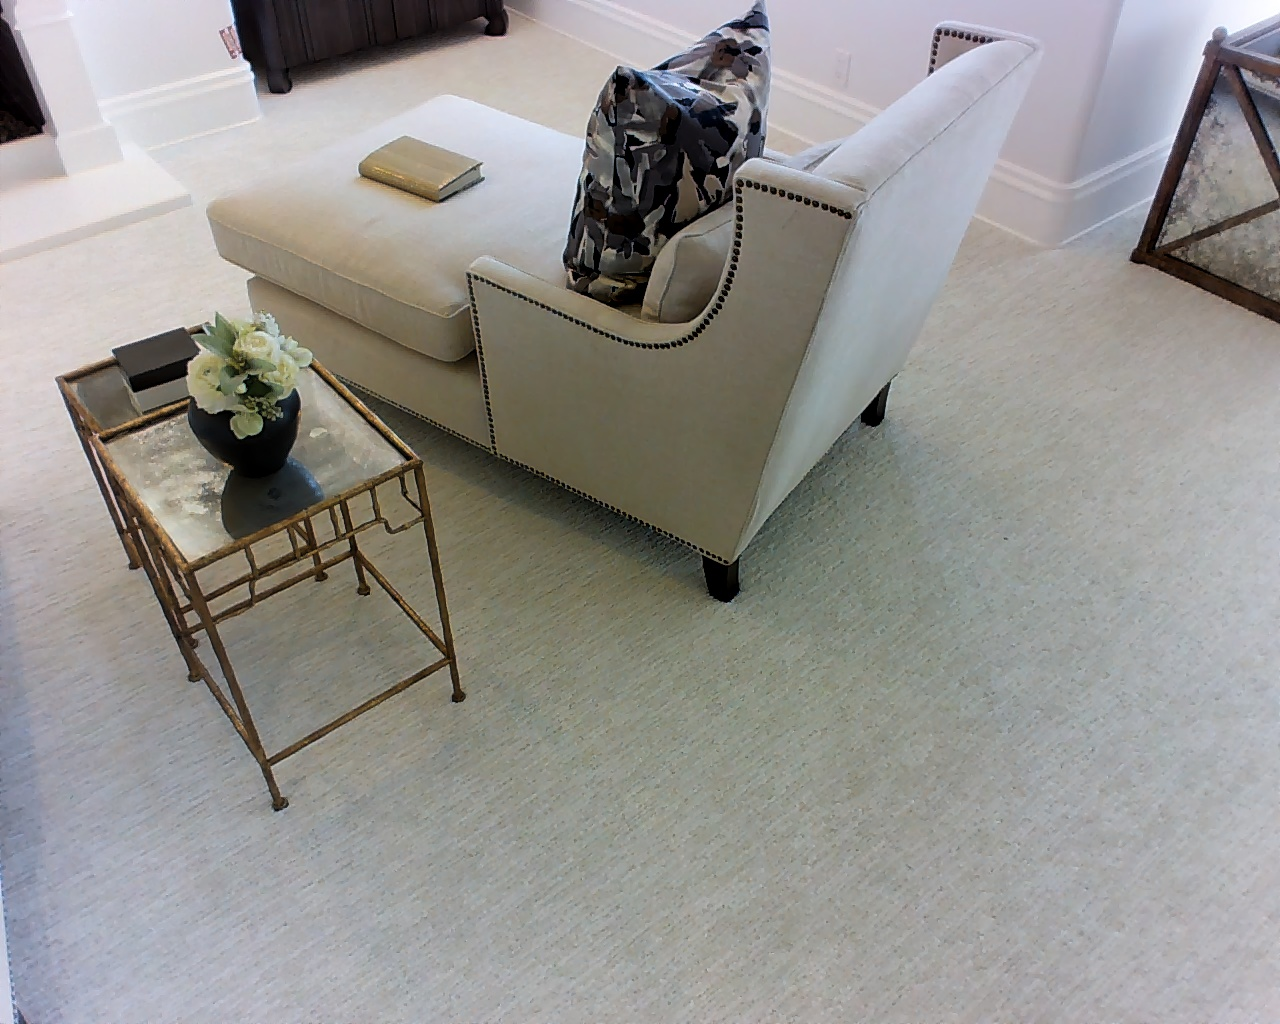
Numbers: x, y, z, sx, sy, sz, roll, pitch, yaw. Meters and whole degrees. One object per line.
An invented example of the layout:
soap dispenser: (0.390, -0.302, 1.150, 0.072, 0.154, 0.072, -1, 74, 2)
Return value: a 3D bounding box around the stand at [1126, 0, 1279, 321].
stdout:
stand: (2.000, -0.990, 3.010, 0.720, 0.670, 0.750, -29, 50, -28)
